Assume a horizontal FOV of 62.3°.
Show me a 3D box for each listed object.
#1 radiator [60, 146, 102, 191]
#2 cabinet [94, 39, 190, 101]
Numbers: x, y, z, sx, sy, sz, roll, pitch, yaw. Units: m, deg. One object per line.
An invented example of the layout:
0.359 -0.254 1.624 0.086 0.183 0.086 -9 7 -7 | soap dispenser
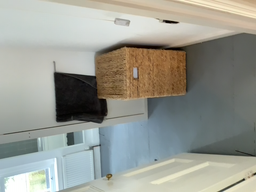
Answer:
-0.720 1.420 3.400 0.050 0.630 1.130 0 94 58 | radiator
0.110 -0.210 1.930 0.600 0.620 0.440 1 95 58 | cabinet
